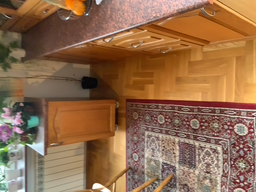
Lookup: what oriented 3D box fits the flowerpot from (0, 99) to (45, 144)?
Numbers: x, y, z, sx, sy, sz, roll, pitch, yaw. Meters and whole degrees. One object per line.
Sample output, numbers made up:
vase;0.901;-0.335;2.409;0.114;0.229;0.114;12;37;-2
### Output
flowerpot;-0.980;0.200;1.890;0.480;0.290;0.290;10;98;48
